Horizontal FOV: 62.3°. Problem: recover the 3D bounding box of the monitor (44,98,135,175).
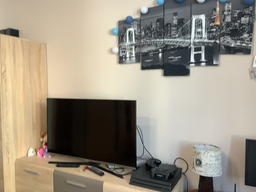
[{"bbox_3d":[-0.360,0.310,1.800,0.900,0.560,0.040,1,3,26],"label":"monitor"}]
